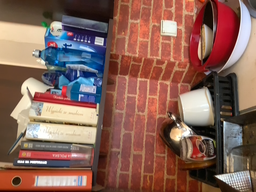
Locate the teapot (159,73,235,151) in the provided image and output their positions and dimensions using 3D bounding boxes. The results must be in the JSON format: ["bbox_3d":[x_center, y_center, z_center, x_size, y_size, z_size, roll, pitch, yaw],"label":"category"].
[{"bbox_3d":[0.270,0.090,0.910,0.300,0.190,0.260,115,161,-72],"label":"teapot"}]
